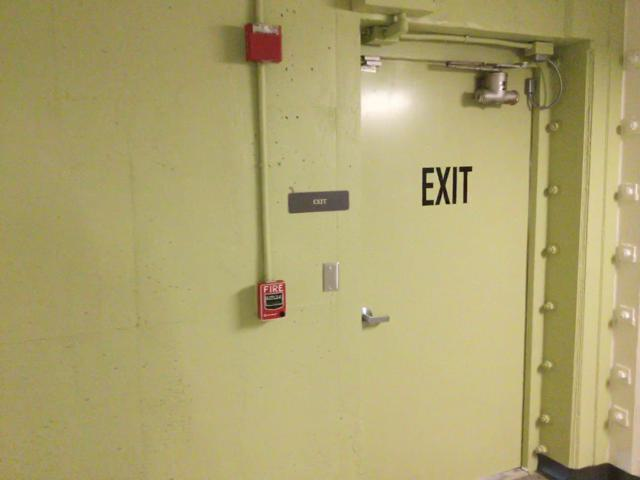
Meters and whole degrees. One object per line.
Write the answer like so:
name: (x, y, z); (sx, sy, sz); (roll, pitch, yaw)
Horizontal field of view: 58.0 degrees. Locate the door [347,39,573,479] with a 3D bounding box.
door: (0.640, 0.210, 2.630); (1.040, 2.040, 0.140); (-2, 7, -24)
